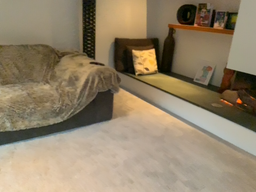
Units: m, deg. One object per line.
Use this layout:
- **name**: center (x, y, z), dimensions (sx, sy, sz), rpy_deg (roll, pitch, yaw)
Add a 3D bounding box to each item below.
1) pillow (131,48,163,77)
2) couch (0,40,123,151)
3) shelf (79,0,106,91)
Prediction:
- **pillow**: center (0.310, -0.550, 3.450), dimensions (0.480, 0.440, 0.180), rpy_deg (-9, 7, -33)
- **couch**: center (-1.060, -0.150, 2.260), dimensions (1.530, 0.720, 1.260), rpy_deg (-10, 25, -34)
- **shelf**: center (-0.510, -1.010, 2.990), dimensions (0.280, 1.880, 0.270), rpy_deg (-9, 24, -33)
